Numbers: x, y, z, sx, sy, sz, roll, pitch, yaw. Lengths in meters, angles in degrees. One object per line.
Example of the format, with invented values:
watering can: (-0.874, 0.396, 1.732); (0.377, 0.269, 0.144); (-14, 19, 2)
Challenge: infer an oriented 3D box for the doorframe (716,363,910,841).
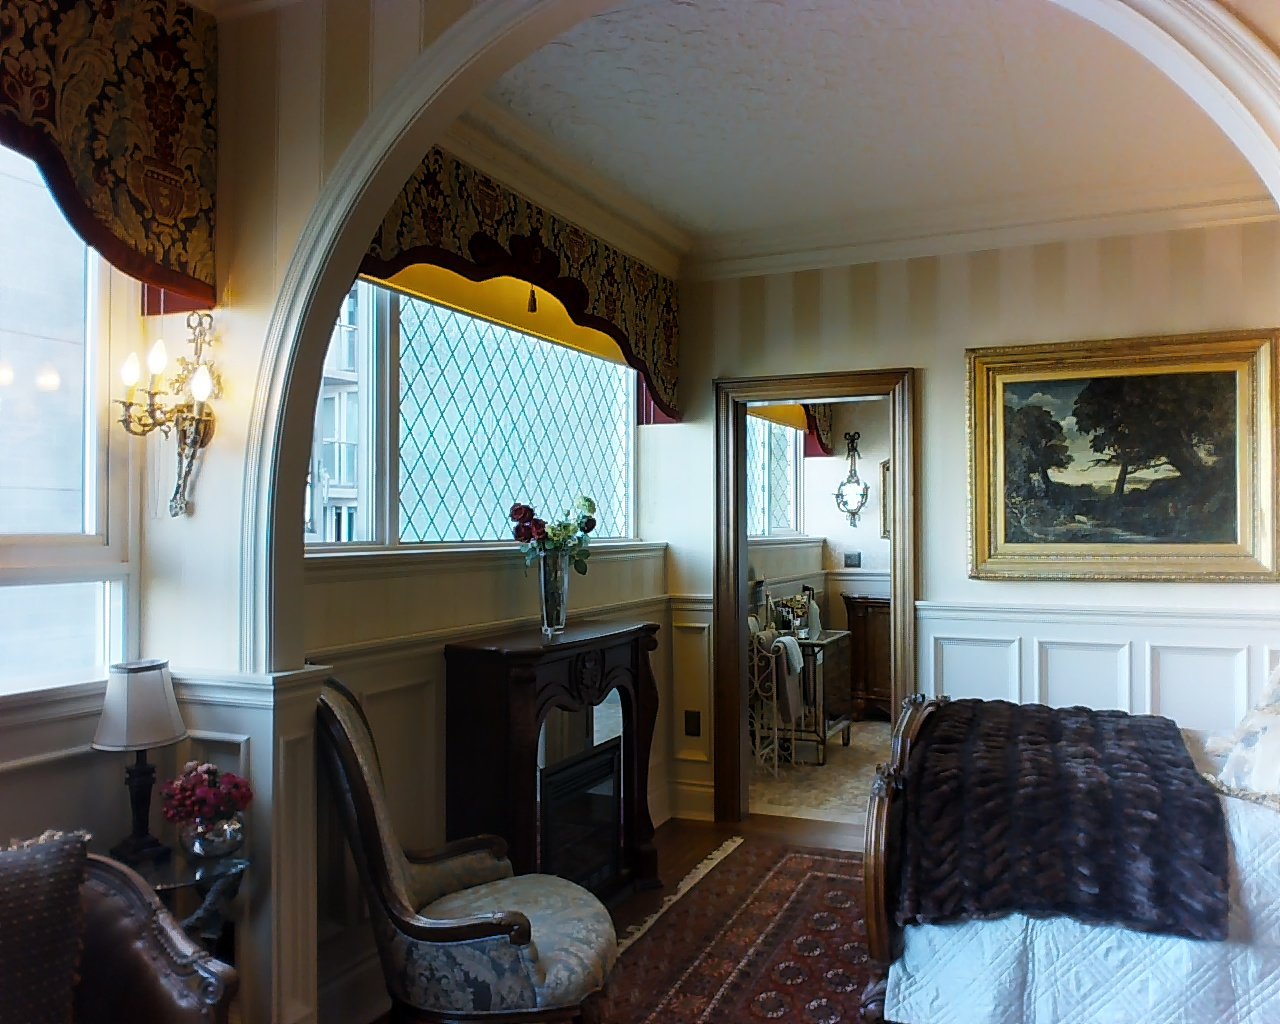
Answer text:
doorframe: (0.820, 0.410, 5.160); (0.900, 2.170, 0.180); (0, -1, 24)
